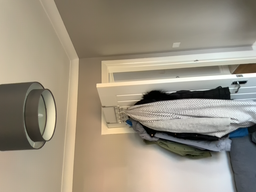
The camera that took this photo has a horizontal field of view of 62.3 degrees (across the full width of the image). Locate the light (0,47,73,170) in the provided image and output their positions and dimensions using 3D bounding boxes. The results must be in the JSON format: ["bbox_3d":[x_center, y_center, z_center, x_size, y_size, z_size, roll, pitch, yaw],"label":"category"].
[{"bbox_3d":[-0.530,0.090,0.950,0.410,0.400,0.410,-32,54,46],"label":"light"}]

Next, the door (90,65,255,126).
[{"bbox_3d":[0.730,0.020,2.010,0.810,2.030,0.110,86,180,-61],"label":"door"}]

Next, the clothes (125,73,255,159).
[{"bbox_3d":[0.650,0.230,1.870,0.940,1.300,0.370,86,180,-63],"label":"clothes"}]
